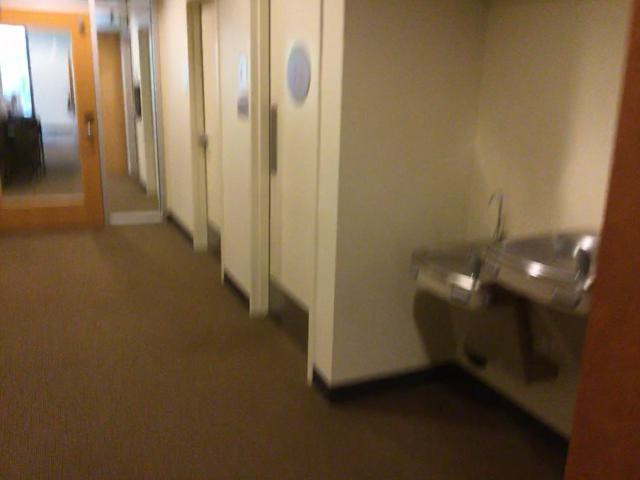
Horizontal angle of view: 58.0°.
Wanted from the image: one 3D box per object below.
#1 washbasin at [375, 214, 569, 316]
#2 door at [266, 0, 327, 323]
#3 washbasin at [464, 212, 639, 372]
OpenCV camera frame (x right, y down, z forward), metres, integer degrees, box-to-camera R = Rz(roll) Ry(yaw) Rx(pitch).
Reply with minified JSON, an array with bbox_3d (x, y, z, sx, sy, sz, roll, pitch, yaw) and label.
[{"bbox_3d":[0.570,0.070,2.300,0.440,0.220,0.620,-4,14,-24],"label":"washbasin"},{"bbox_3d":[-0.140,-0.500,2.980,0.050,1.740,0.610,-4,14,-24],"label":"door"},{"bbox_3d":[0.820,0.110,1.730,0.470,0.270,0.590,-4,14,-24],"label":"washbasin"}]
